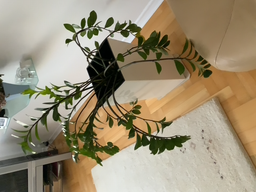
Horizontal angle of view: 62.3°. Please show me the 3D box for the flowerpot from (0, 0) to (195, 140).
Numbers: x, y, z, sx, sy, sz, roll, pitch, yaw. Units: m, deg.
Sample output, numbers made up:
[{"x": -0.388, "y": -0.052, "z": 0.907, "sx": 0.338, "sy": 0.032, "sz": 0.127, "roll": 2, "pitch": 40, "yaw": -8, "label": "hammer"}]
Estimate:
[{"x": -0.270, "y": -0.240, "z": 1.390, "sx": 0.680, "sy": 1.050, "sz": 0.680, "roll": -42, "pitch": 61, "yaw": 44, "label": "flowerpot"}]

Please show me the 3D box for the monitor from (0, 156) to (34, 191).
[{"x": -1.440, "y": 1.180, "z": 2.580, "sx": 0.060, "sy": 0.550, "sz": 0.810, "roll": 15, "pitch": 104, "yaw": 49, "label": "monitor"}]
